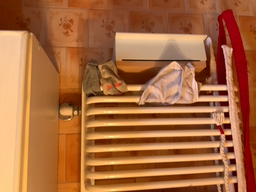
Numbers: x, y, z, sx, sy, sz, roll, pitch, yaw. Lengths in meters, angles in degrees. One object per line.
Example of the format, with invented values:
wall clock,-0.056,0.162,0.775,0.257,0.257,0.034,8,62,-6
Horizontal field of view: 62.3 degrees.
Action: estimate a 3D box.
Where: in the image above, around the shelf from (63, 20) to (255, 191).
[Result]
shelf,0.110,0.210,0.640,0.570,0.850,0.130,0,170,-9
